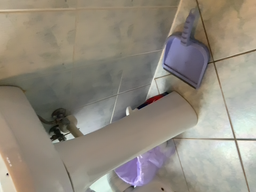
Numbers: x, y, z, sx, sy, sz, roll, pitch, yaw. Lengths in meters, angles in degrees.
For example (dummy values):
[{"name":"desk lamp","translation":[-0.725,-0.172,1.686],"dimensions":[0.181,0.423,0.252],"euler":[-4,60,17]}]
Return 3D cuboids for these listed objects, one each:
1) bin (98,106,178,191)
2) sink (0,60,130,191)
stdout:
[{"name":"bin","translation":[0.040,0.290,1.190],"dimensions":[0.330,0.240,0.270],"euler":[37,131,33]},{"name":"sink","translation":[-0.270,0.270,0.630],"dimensions":[0.450,0.170,0.580],"euler":[41,133,30]}]
